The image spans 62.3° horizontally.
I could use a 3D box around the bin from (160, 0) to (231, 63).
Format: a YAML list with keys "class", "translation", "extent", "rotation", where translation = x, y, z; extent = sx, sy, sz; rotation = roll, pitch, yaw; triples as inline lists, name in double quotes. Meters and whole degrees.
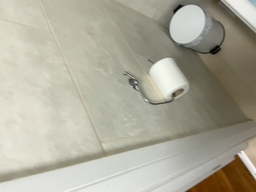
- class: "bin"
  translation: [0.390, -0.370, 1.220]
  extent: [0.190, 0.300, 0.250]
  rotation: [-42, 63, 32]
